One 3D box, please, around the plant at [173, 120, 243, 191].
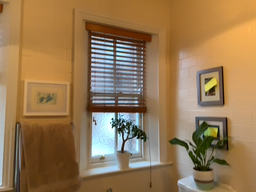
[{"bbox_3d":[0.610,0.440,1.680,0.250,0.470,0.460,2,-3,-29],"label":"plant"}]
